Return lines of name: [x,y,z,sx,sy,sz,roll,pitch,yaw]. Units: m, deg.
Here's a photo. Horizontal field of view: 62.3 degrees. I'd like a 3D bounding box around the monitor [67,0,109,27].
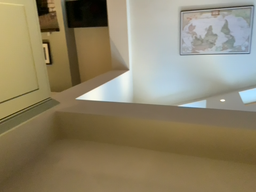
monitor: [-0.840,-1.790,4.380,0.950,0.660,0.030,4,-162,20]
